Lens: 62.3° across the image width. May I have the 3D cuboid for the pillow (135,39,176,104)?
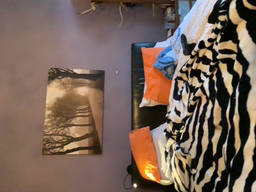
[{"bbox_3d":[0.330,-0.300,2.580,0.150,0.300,0.720,124,162,-79],"label":"pillow"}]
